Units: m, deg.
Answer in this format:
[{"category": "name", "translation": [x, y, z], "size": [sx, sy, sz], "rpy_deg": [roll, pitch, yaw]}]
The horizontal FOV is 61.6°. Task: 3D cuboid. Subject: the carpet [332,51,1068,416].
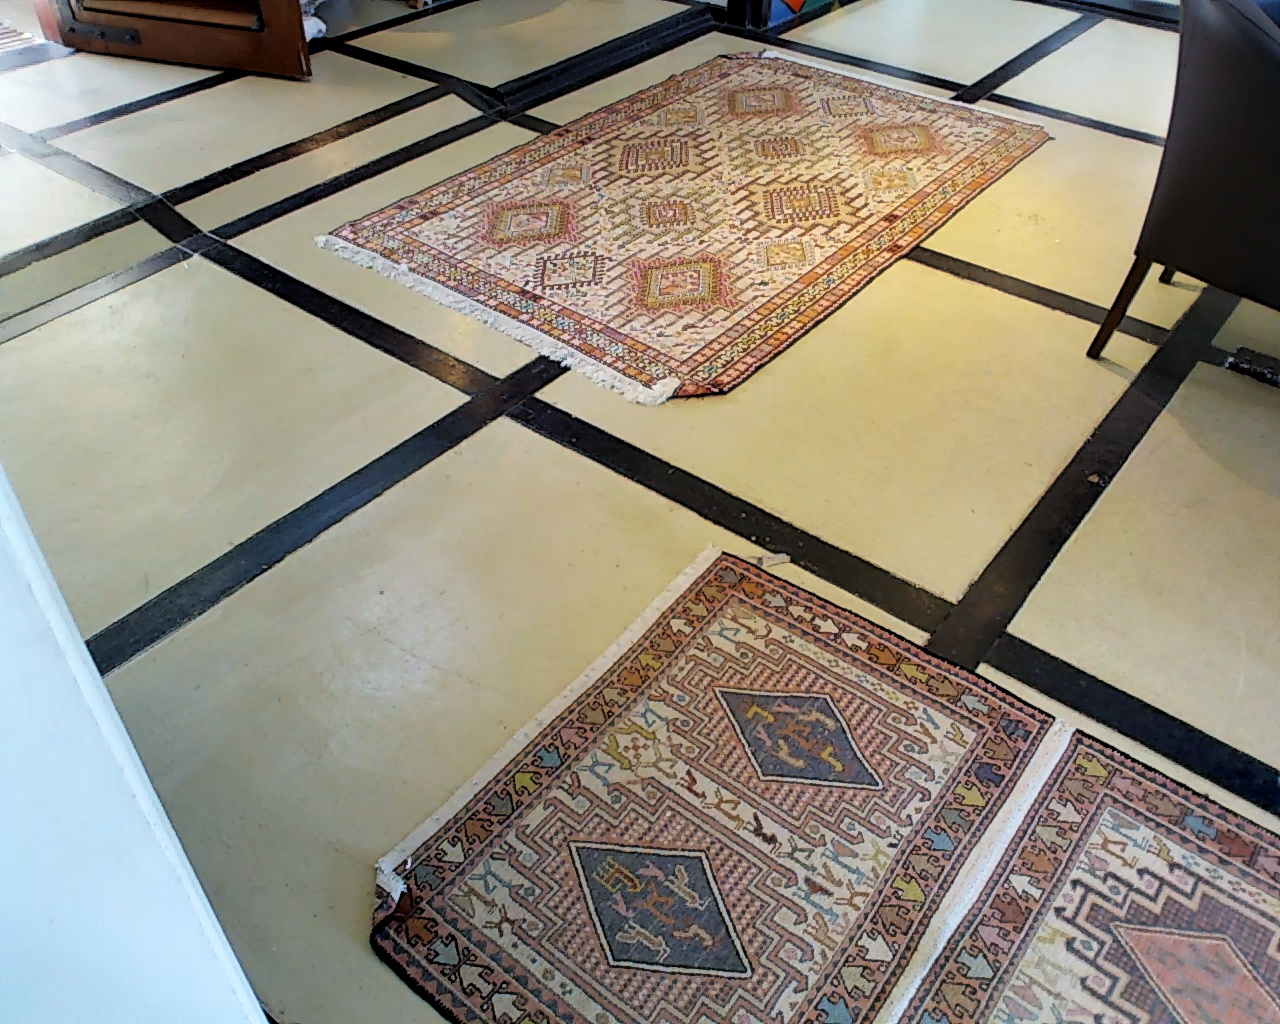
[{"category": "carpet", "translation": [0.270, -0.940, 3.070], "size": [1.260, 0.020, 1.870], "rpy_deg": [27, 47, 27]}]
